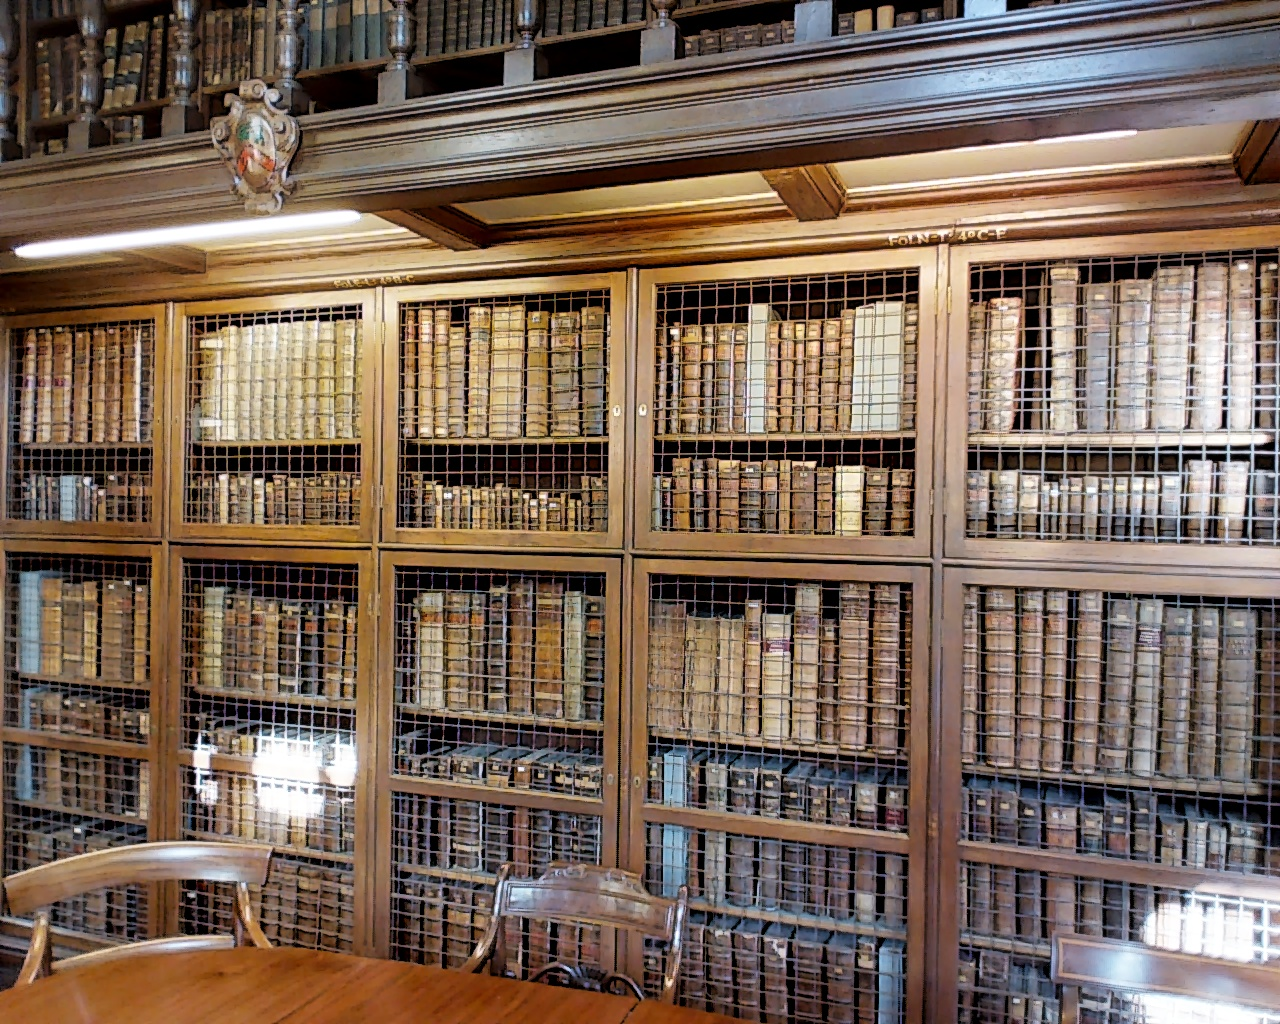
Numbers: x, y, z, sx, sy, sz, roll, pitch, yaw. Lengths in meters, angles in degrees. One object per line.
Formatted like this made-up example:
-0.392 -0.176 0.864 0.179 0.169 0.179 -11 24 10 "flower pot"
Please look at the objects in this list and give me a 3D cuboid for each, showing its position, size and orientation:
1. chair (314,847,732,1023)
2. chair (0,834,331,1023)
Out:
-0.180 1.110 1.930 0.540 0.780 0.600 1 0 19 "chair"
-0.920 1.120 2.030 0.550 0.810 0.560 1 0 -25 "chair"
